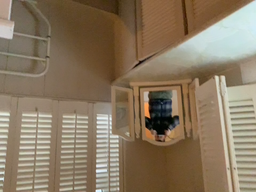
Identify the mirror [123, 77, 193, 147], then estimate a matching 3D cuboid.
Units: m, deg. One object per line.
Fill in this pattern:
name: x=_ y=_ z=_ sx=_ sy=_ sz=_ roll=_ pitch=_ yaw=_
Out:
mirror: x=0.250 y=0.160 z=1.920 sx=0.540 sy=0.560 sz=0.340 roll=-3 pitch=167 yaw=5
